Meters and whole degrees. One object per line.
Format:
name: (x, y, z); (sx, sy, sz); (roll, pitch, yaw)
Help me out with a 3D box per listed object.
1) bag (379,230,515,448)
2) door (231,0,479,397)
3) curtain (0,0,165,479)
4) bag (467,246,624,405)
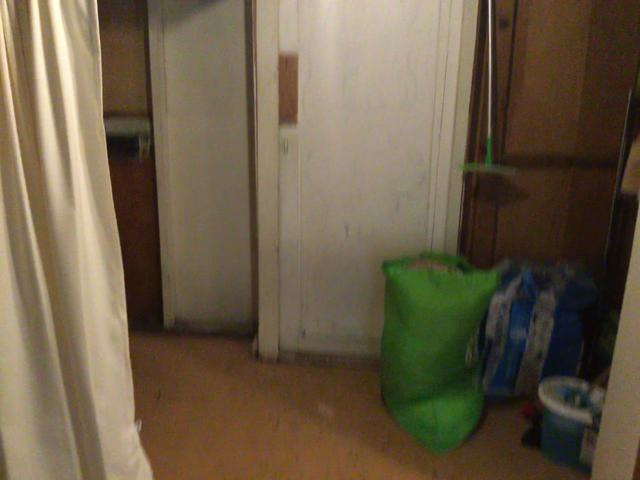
bag: (0.490, 0.380, 2.450); (0.460, 0.700, 0.600); (1, 17, 5)
door: (0.140, -0.340, 2.460); (0.890, 1.980, 0.430); (1, 17, 5)
curtain: (-0.890, 0.030, 1.660); (0.630, 1.900, 0.370); (1, 17, 5)
bag: (0.970, 0.370, 2.580); (0.530, 0.600, 0.330); (1, 17, 5)
